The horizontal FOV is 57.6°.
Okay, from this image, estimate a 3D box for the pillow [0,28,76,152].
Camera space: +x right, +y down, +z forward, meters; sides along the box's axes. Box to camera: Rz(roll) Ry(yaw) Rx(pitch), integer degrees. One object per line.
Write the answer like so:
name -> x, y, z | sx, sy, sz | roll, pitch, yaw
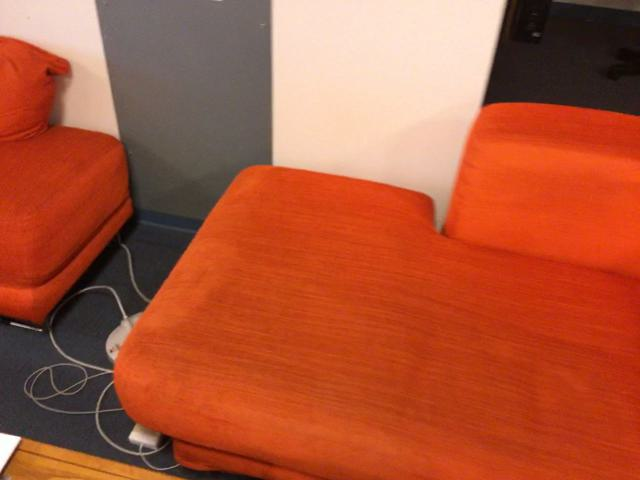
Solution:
pillow -> -1.060, -0.490, 1.800 | 0.490, 0.280, 0.210 | 12, 37, 5
